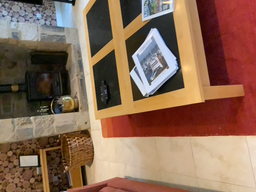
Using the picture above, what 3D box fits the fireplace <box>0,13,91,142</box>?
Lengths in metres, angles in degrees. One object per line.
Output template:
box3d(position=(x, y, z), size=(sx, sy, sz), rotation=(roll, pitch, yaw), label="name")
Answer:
box3d(position=(-1.680, -0.250, 3.490), size=(0.850, 1.700, 1.840), rotation=(-22, 75, 57), label="fireplace")
